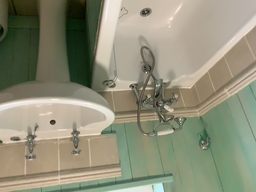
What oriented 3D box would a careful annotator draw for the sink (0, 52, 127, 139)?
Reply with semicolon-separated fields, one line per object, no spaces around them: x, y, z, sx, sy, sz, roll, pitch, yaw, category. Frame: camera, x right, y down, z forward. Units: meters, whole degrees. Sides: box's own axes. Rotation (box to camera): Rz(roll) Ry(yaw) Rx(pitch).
-0.330;0.020;0.930;0.540;0.180;0.460;-3;156;-16;sink
